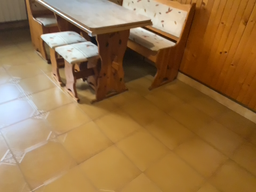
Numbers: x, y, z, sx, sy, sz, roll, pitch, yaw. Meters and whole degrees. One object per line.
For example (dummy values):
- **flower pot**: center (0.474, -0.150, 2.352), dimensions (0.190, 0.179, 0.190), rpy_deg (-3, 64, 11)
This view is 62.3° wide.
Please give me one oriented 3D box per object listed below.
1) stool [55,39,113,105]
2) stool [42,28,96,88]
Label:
- **stool**: center (-0.420, -0.250, 2.070), dimensions (0.420, 0.470, 0.310), rpy_deg (-21, 45, -34)
- **stool**: center (-0.610, -0.410, 2.250), dimensions (0.420, 0.470, 0.310), rpy_deg (-21, 45, -34)
